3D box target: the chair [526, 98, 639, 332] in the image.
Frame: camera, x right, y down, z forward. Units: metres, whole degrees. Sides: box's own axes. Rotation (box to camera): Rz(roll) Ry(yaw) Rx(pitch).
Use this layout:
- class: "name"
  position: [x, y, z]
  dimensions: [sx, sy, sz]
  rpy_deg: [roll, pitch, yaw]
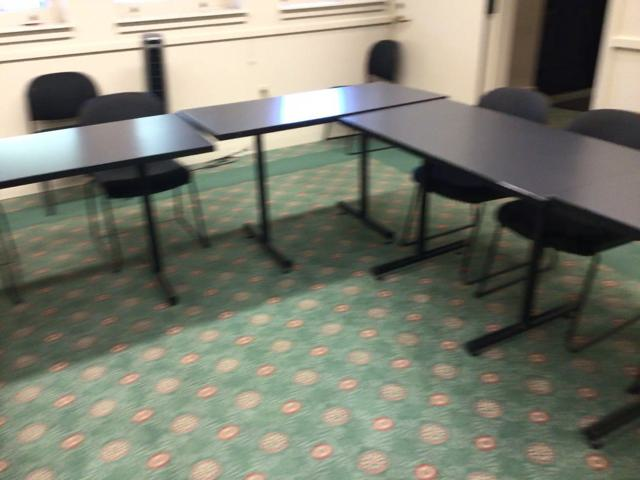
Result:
- class: "chair"
  position: [1.140, -0.120, 2.280]
  dimensions: [0.200, 0.770, 0.540]
  rpy_deg: [-16, 28, -27]

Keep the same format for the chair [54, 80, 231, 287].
- class: "chair"
  position: [-0.880, -0.320, 2.890]
  dimensions: [0.590, 0.780, 0.640]
  rpy_deg: [-15, 29, -27]
